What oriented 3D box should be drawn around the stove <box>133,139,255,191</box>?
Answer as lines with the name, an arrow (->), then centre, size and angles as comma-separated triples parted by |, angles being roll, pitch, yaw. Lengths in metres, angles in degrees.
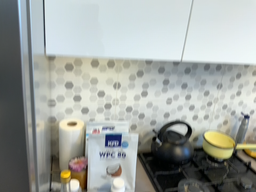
stove -> 0.390, 0.390, 1.040 | 0.590, 0.020, 0.550 | 0, 21, -17
